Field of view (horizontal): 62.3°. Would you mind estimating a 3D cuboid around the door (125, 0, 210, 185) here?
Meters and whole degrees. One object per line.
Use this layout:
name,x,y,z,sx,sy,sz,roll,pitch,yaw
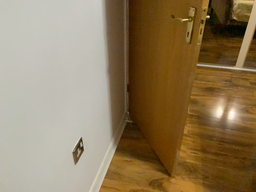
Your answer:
door,0.150,-0.420,1.190,0.080,1.980,0.730,-12,35,-18
